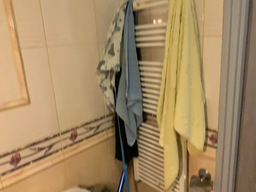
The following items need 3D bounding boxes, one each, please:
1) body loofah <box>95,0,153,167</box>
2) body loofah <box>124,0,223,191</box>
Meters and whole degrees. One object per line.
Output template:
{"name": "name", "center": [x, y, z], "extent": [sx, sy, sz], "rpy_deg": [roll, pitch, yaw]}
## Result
{"name": "body loofah", "center": [-0.010, -0.070, 1.300], "extent": [0.240, 0.970, 0.180], "rpy_deg": [11, 21, 42]}
{"name": "body loofah", "center": [0.220, 0.100, 1.100], "extent": [0.390, 1.280, 0.200], "rpy_deg": [12, 22, 43]}
